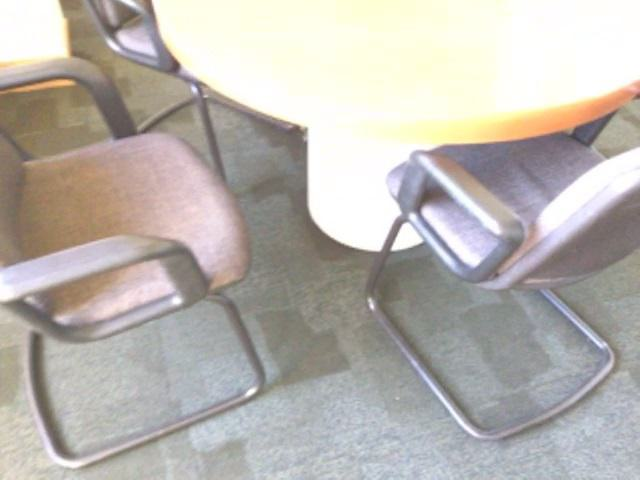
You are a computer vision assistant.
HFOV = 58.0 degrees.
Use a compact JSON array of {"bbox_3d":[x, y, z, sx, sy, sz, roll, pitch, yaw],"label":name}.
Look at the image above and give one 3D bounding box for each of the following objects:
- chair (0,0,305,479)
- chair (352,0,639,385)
[{"bbox_3d":[-0.450,-0.060,1.160,0.580,0.680,0.680,-21,49,-21],"label":"chair"},{"bbox_3d":[0.470,-0.160,1.140,0.640,0.480,0.560,-12,46,-12],"label":"chair"}]
